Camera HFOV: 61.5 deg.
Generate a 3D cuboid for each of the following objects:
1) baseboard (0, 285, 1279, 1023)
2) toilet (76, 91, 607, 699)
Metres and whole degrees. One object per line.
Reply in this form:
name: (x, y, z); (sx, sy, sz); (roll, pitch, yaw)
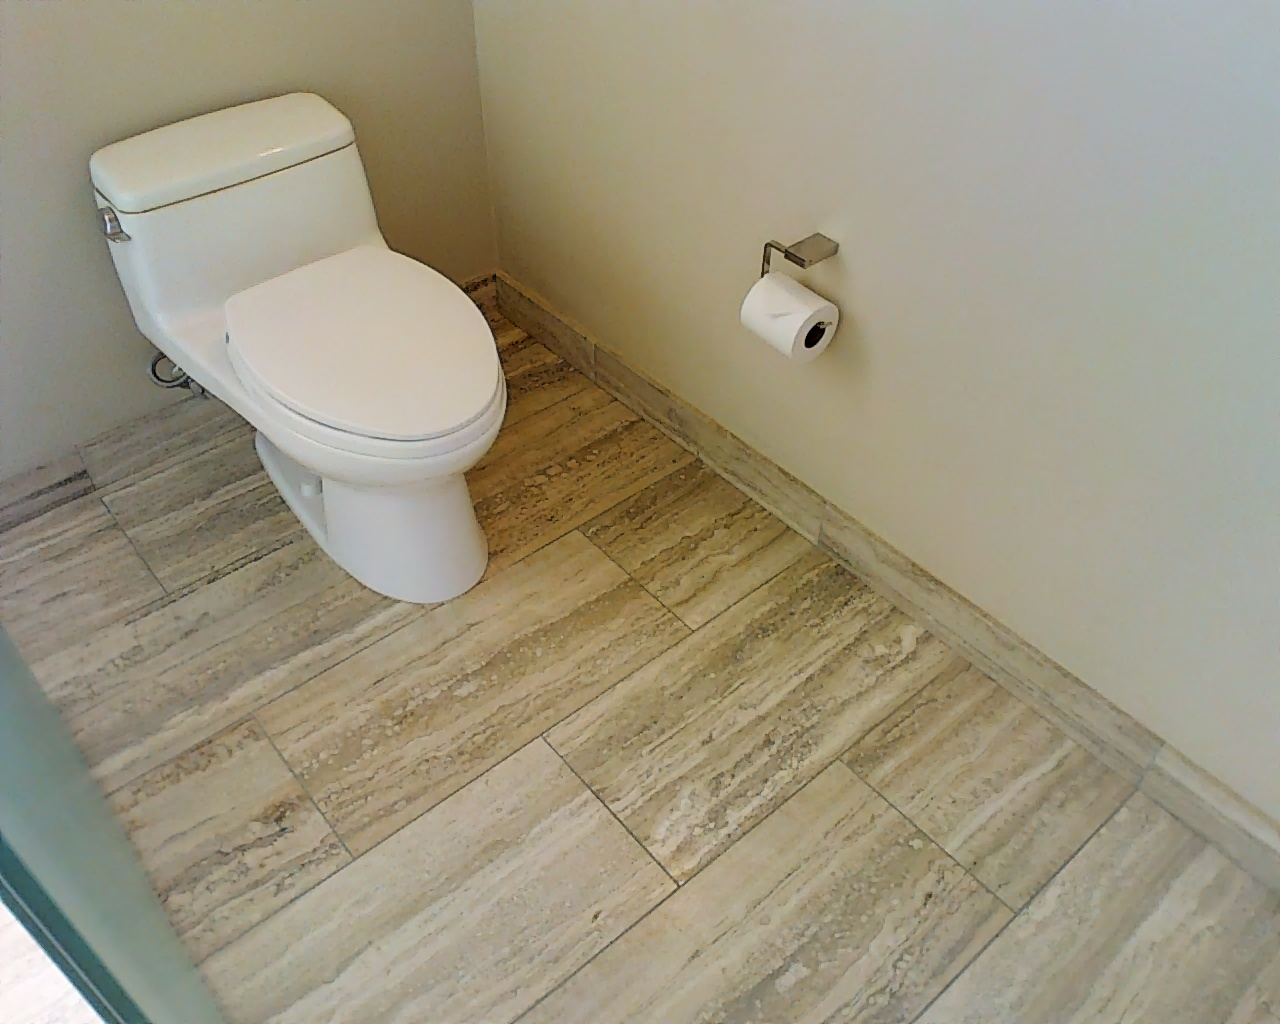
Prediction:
baseboard: (-0.060, 0.360, 1.520); (1.200, 0.080, 2.130); (-30, 51, -28)
toilet: (-0.460, -0.220, 1.750); (0.440, 0.590, 0.740); (-30, 51, -28)
